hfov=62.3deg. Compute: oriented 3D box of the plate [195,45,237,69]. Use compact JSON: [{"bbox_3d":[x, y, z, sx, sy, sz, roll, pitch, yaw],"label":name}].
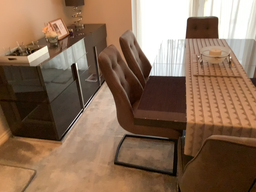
[{"bbox_3d":[0.670,-0.310,1.650,0.240,0.110,0.250,2,30,8],"label":"plate"}]
